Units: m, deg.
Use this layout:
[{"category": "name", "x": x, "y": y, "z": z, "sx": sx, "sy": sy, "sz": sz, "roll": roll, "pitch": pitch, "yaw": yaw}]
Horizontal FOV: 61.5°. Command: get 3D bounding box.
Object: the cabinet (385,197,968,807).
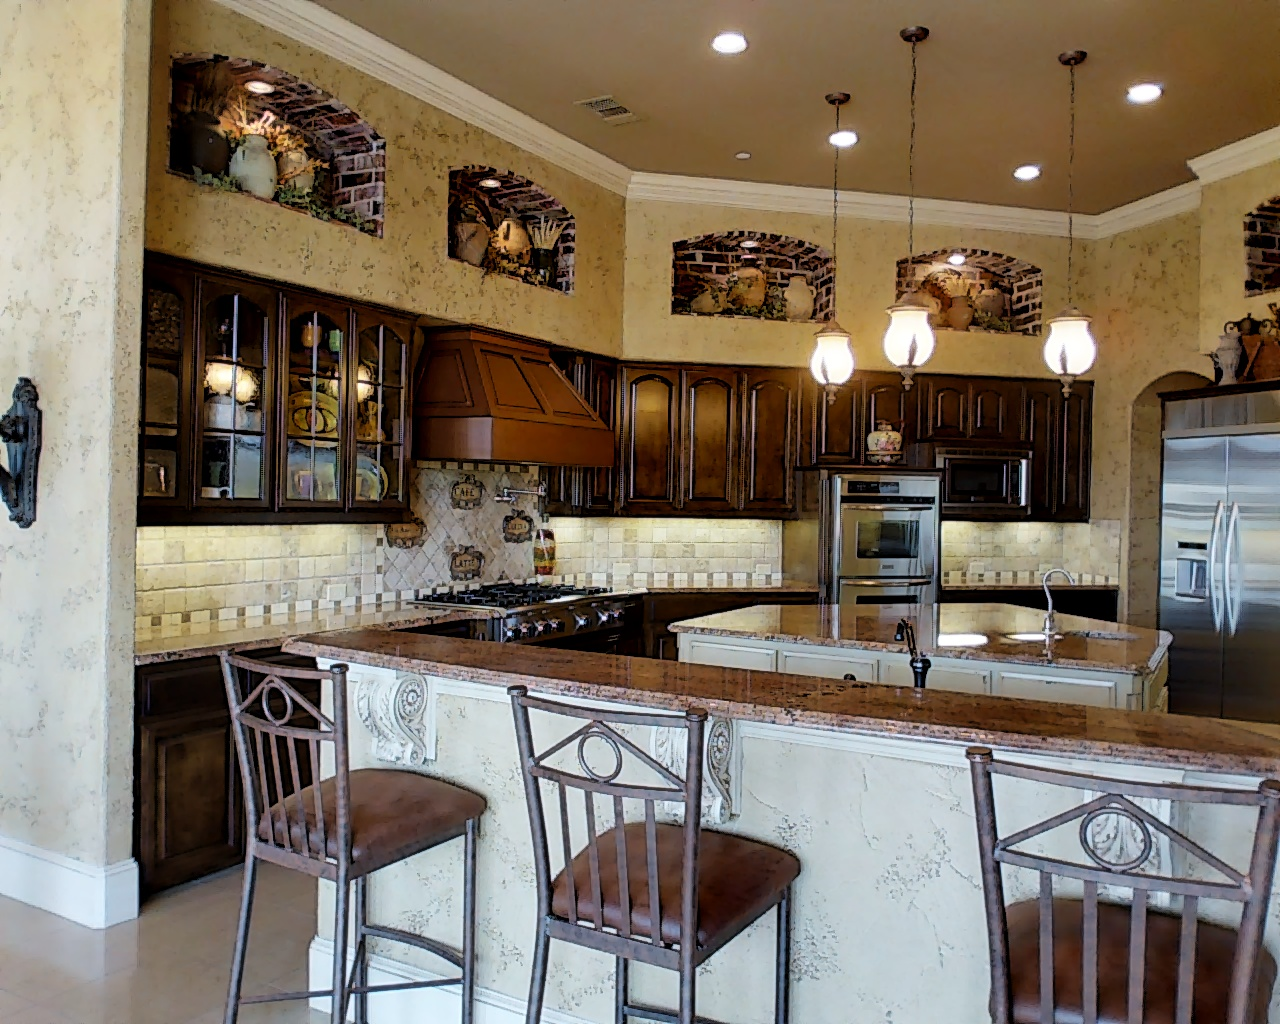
[{"category": "cabinet", "x": 0.270, "y": -0.030, "z": 7.130, "sx": 3.739, "sy": 3.561, "sz": 0.760, "roll": 1, "pitch": 0, "yaw": -15}]
